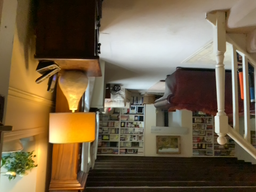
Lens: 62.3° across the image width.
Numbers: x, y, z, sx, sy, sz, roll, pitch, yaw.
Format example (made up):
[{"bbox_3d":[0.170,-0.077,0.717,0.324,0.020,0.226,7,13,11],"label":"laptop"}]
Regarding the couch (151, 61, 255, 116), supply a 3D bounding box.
[{"bbox_3d":[1.730,-0.090,4.360,2.330,0.900,1.080,2,174,-3],"label":"couch"}]
